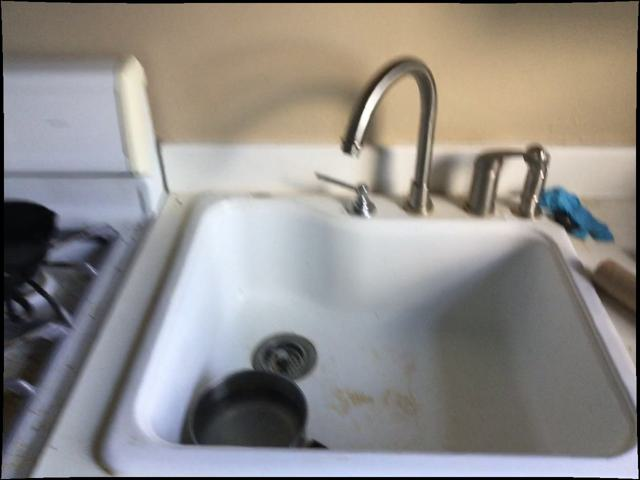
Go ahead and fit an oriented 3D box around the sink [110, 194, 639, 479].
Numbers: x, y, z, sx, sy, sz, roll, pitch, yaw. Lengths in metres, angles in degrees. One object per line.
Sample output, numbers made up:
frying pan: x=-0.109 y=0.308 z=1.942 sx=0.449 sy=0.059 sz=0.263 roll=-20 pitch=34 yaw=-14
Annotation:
sink: x=0.110 y=0.180 z=0.910 sx=0.648 sy=0.230 sz=0.560 roll=1 pitch=37 yaw=3
